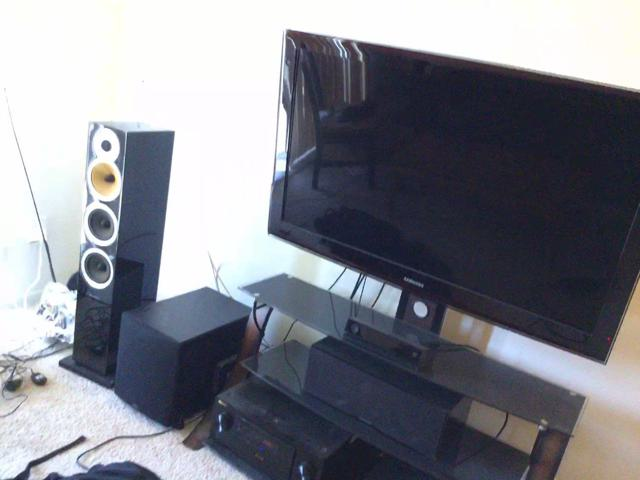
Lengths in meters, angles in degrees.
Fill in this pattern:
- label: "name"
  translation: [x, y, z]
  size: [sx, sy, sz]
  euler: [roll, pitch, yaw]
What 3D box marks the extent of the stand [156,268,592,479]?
- label: "stand"
  translation: [0.150, 0.560, 1.910]
  size: [1.210, 0.620, 0.560]
  euler: [16, 7, 28]
